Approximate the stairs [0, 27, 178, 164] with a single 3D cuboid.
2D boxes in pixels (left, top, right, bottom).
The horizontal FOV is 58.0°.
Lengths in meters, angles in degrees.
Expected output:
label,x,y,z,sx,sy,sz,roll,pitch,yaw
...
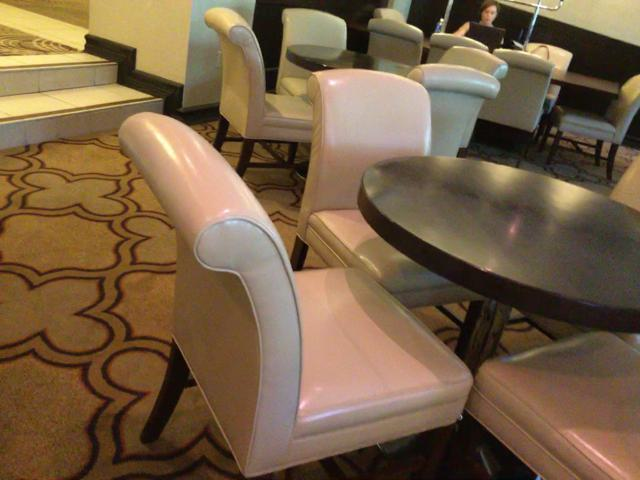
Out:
label,x,y,z,sx,sy,sz,roll,pitch,yaw
stairs,-1.850,-0.950,3.540,1.150,0.420,1.580,20,28,21
